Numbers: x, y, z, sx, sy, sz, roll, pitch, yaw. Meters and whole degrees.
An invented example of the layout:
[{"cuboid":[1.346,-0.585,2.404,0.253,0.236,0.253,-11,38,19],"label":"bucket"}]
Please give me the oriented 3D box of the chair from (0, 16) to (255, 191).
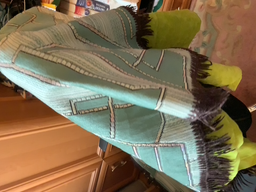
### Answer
[{"cuboid":[0.170,0.210,0.870,0.660,1.240,0.700,28,111,35],"label":"chair"}]
